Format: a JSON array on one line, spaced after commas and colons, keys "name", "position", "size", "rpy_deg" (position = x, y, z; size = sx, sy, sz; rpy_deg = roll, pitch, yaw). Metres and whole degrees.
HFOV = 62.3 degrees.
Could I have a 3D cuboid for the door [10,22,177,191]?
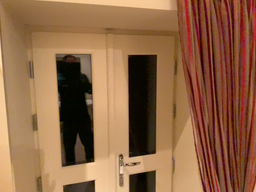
[{"name": "door", "position": [-0.140, 0.490, 1.350], "size": [0.930, 1.790, 0.060], "rpy_deg": [-3, 9, -17]}]
